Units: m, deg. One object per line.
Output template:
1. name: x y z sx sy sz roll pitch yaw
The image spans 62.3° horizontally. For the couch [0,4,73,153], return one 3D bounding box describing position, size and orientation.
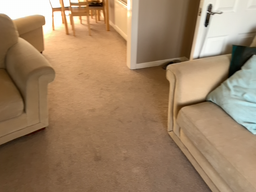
1. couch: -1.290 -0.160 1.780 1.190 0.880 1.040 -21 40 -31
